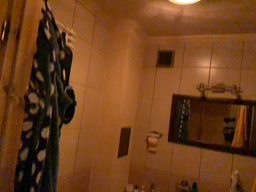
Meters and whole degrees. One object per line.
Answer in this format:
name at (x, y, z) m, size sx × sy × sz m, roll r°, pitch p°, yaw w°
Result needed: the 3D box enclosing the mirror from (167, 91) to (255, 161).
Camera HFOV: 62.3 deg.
mirror at (0.780, 0.250, 1.890) m, size 0.790 × 0.510 × 0.080 m, roll 6°, pitch -4°, yaw 21°
